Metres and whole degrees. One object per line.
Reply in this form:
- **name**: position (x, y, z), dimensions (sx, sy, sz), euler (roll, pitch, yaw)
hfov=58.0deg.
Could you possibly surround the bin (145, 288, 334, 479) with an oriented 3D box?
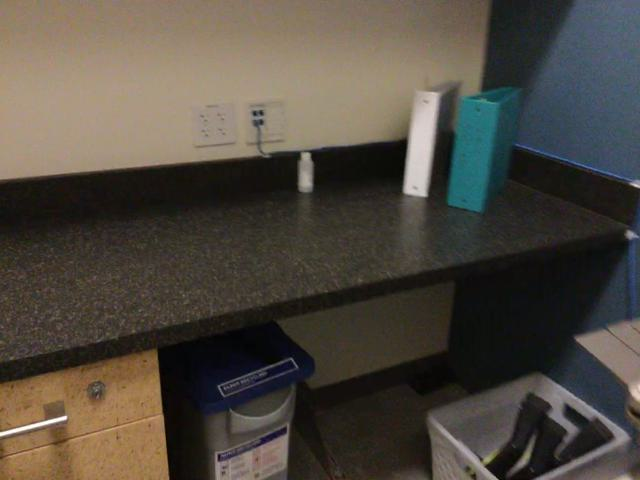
- **bin**: position (-0.210, 0.520, 1.440), dimensions (0.330, 0.670, 0.350), euler (-8, 25, -25)
